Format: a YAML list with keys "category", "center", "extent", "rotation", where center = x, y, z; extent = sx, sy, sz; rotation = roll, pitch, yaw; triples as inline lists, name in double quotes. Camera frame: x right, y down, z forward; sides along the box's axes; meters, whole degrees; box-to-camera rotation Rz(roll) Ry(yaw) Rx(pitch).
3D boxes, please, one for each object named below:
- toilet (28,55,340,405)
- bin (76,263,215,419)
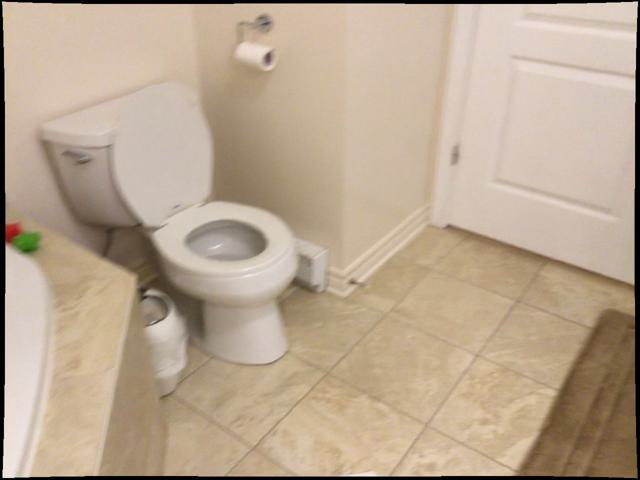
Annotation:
- category: "toilet"
  center: [-0.360, -0.070, 1.750]
  extent: [0.680, 0.751, 0.490]
  rotation: [21, 39, 30]
- category: "bin"
  center: [-0.490, 0.280, 1.650]
  extent: [0.310, 0.290, 0.180]
  rotation: [22, 40, 31]
